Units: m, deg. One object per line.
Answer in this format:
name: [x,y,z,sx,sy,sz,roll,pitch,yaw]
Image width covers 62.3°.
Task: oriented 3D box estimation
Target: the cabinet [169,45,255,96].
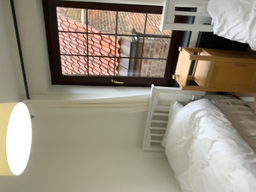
cabinet: [0.910,-0.270,2.240,0.390,0.820,0.370,-100,15,-60]
